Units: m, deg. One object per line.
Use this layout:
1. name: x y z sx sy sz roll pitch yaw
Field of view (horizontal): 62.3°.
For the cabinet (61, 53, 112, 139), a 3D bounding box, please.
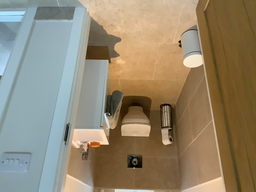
1. cabinet: -0.310 0.010 1.770 0.260 0.580 0.430 0 152 3
